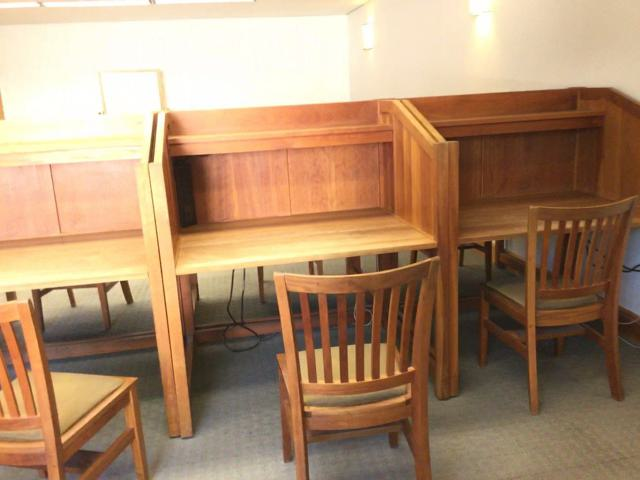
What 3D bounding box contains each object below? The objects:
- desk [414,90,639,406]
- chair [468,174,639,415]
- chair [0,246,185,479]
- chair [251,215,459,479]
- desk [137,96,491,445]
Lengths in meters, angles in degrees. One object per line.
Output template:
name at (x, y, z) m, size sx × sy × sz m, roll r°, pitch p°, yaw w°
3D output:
desk at (1.120, -0.080, 2.920) m, size 0.970 × 1.300 × 1.140 m, roll -3°, pitch 14°, yaw -7°
chair at (1.070, 0.210, 2.650) m, size 0.560 × 0.940 × 0.540 m, roll -3°, pitch 14°, yaw -8°
chair at (-0.940, 0.550, 1.920) m, size 0.670 × 0.900 × 0.660 m, roll 2°, pitch 14°, yaw 14°
chair at (0.080, 0.450, 1.980) m, size 0.560 × 0.950 × 0.580 m, roll -3°, pitch 14°, yaw -8°
desk at (-0.060, 0.020, 2.860) m, size 1.350 × 1.390 × 1.070 m, roll -3°, pitch 14°, yaw -8°
